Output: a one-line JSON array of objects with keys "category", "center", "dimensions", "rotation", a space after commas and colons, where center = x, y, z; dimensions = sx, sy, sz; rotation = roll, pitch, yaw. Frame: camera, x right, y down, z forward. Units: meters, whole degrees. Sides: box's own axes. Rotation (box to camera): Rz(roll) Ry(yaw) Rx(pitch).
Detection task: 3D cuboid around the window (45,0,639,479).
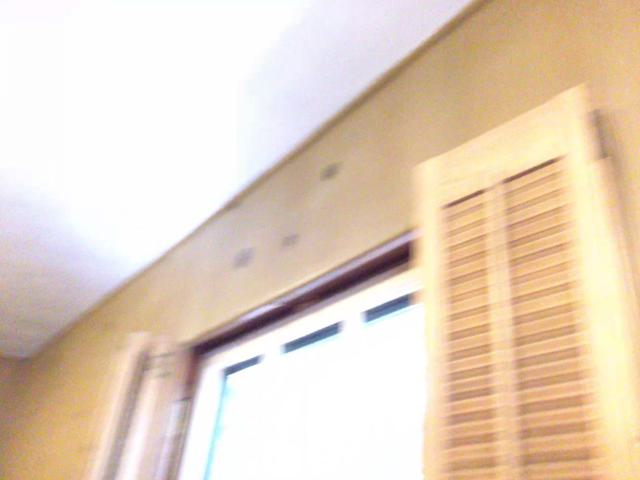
[{"category": "window", "center": [-0.100, 0.780, 0.860], "dimensions": [0.390, 1.760, 1.580], "rotation": [23, -40, -31]}]
